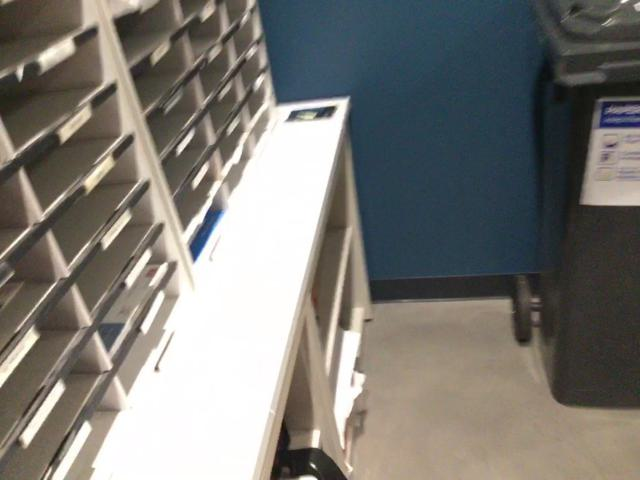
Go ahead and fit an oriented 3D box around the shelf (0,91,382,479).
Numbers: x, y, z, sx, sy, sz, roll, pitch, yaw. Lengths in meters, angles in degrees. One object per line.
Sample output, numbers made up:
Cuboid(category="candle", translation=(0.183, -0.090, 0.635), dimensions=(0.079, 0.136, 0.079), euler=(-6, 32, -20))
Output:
Cuboid(category="shelf", translation=(-0.190, 0.380, 1.160), dimensions=(0.550, 0.780, 1.630), euler=(-5, 32, 9))
